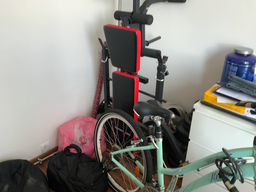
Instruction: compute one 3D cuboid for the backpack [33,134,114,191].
[{"bbox_3d":[-0.420,0.570,1.640,0.550,0.230,0.320,20,32,33],"label":"backpack"}]
